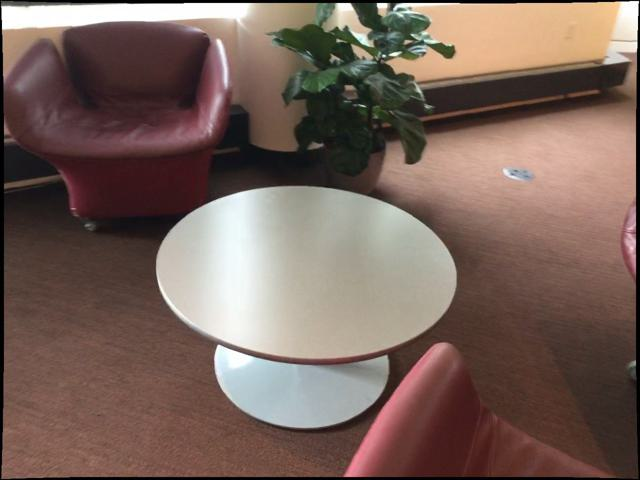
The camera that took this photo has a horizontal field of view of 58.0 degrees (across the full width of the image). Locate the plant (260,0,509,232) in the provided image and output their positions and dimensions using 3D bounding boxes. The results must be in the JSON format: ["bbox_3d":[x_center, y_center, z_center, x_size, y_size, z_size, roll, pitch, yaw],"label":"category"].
[{"bbox_3d":[0.229,-0.792,2.680,0.798,1.142,0.790,-11,35,-20],"label":"plant"}]

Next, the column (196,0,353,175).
[{"bbox_3d":[-0.279,-1.063,3.120,0.579,1.092,0.830,-11,35,-20],"label":"column"}]

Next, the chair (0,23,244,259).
[{"bbox_3d":[-0.848,-0.491,2.620,0.948,0.731,0.931,-1,33,-5],"label":"chair"}]
